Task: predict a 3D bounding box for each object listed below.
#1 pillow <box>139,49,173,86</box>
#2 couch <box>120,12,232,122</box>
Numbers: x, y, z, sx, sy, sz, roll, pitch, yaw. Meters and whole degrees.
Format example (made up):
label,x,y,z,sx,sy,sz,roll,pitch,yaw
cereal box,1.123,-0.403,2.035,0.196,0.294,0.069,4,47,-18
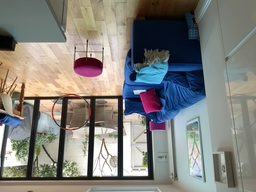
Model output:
label,x,y,z,sx,sy,sz,roll,pitch,yaw
pillow,0.300,-0.310,2.480,0.340,0.230,0.570,-1,165,2
couch,0.450,-0.190,3.410,1.100,0.860,2.420,0,165,-3
